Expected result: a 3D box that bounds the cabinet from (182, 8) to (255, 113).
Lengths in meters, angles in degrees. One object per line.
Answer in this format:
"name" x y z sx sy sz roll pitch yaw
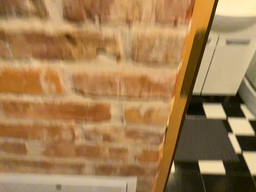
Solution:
"cabinet" 0.790 -0.250 1.650 0.580 0.700 0.300 7 42 6
